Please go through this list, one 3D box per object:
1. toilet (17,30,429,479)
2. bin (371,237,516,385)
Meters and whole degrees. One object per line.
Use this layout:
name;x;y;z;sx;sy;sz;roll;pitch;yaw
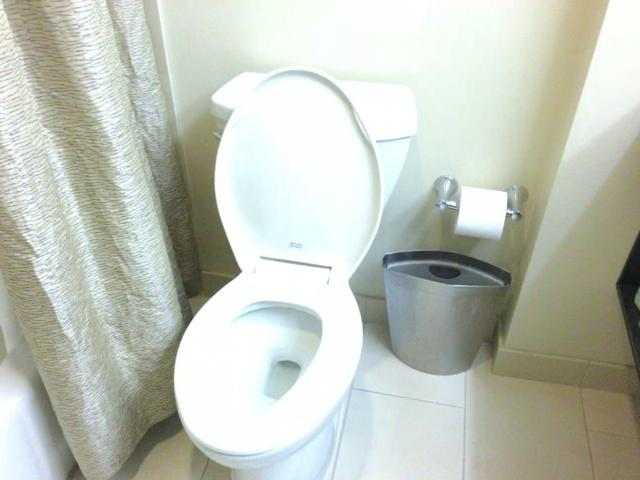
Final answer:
toilet;-0.070;0.120;1.230;0.450;0.850;0.760;7;39;10
bin;0.320;0.190;1.550;0.330;0.320;0.170;7;39;10
